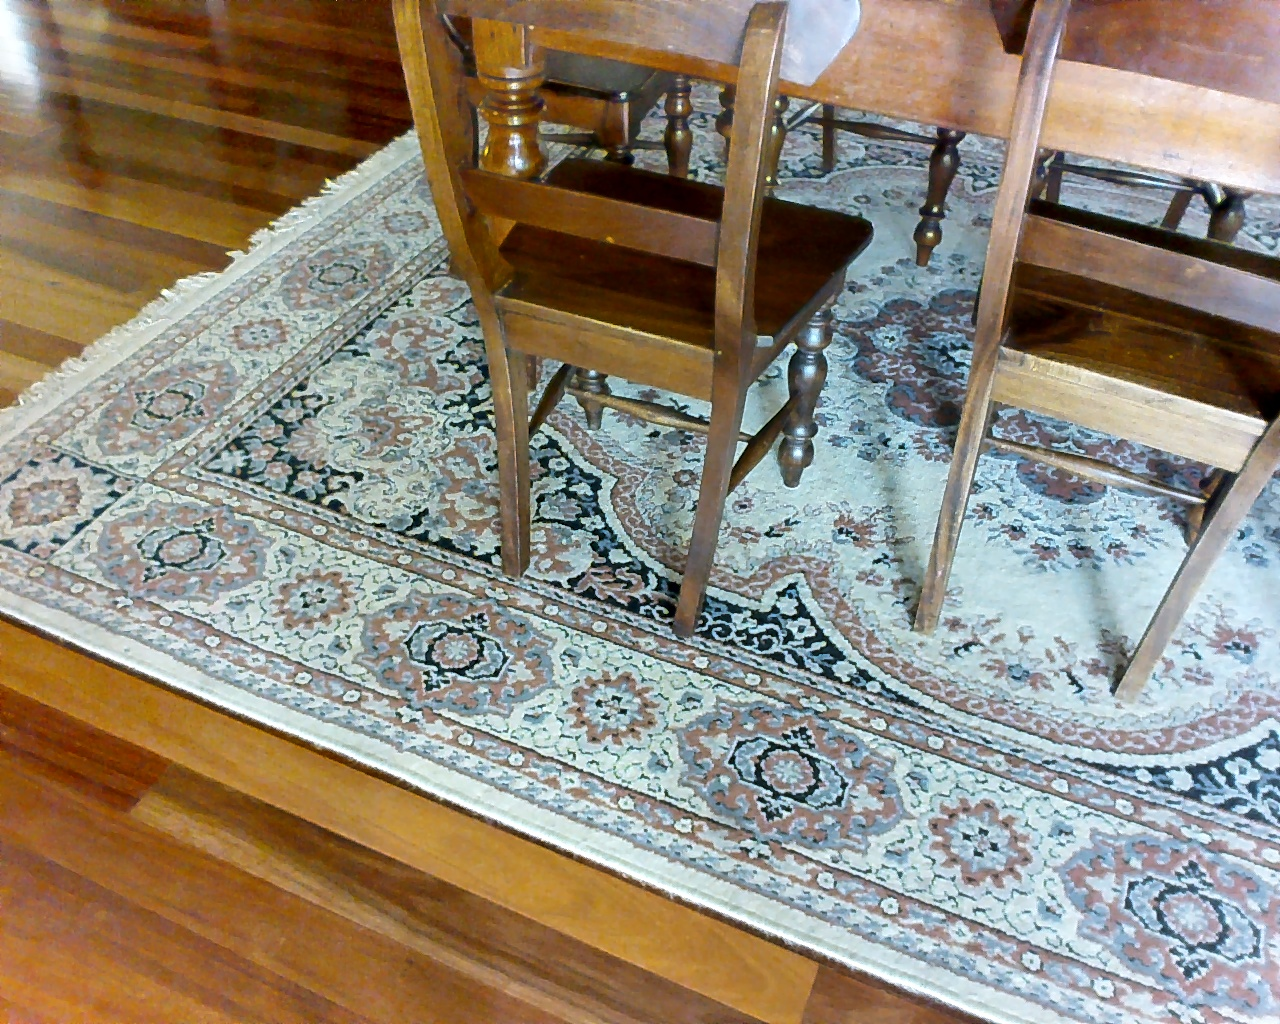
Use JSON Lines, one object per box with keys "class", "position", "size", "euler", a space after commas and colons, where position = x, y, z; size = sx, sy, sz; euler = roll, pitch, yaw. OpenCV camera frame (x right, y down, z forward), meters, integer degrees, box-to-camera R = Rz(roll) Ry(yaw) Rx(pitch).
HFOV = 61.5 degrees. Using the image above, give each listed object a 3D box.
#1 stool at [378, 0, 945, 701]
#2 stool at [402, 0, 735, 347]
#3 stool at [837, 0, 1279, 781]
{"class": "stool", "position": [0.040, -0.260, 1.350], "size": [0.450, 0.850, 0.430], "euler": [18, 45, 17]}
{"class": "stool", "position": [-0.110, -0.820, 1.950], "size": [0.430, 0.850, 0.440], "euler": [17, 45, 16]}
{"class": "stool", "position": [0.610, -0.210, 1.300], "size": [0.480, 0.840, 0.530], "euler": [19, 45, 18]}
